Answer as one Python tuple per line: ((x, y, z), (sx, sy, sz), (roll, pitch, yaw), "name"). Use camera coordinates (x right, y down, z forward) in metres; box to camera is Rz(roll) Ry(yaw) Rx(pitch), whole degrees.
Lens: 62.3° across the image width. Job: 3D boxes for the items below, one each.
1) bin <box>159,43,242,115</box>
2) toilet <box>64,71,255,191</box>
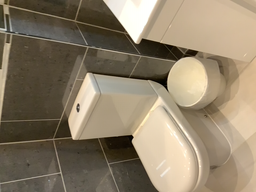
((0.430, -0.100, 1.310), (0.290, 0.240, 0.310), (-59, 45, 35), "bin")
((0.160, 0.250, 1.190), (0.410, 0.810, 0.610), (-59, 45, 34), "toilet")
